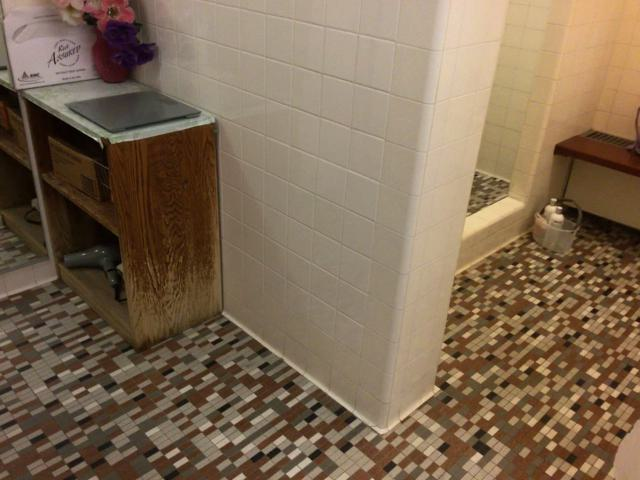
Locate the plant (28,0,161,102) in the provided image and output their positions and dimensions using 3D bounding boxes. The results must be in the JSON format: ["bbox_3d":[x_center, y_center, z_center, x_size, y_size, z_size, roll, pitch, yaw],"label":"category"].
[{"bbox_3d":[-0.730,-0.710,1.860,0.270,0.430,0.310,-23,37,-40],"label":"plant"}]

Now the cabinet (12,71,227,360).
[{"bbox_3d":[-0.680,-0.120,2.020,0.400,0.770,0.610,-22,37,-39],"label":"cabinet"}]

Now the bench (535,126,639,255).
[{"bbox_3d":[1.690,-0.060,2.310,0.430,0.360,1.480,-22,37,-39],"label":"bench"}]
